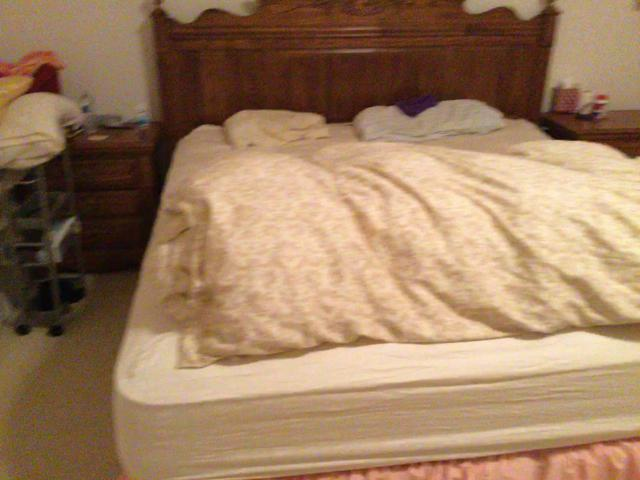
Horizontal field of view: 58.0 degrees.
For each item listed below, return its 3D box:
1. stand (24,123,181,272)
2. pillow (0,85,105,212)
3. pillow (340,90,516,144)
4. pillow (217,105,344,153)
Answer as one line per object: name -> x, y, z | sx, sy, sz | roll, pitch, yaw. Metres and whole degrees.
stand -> -1.030, -0.220, 2.840 | 0.580, 0.640, 0.320 | -4, 19, -5
pillow -> -1.130, -0.370, 2.220 | 0.400, 0.380, 0.580 | -4, 19, -5
pillow -> 0.490, -0.600, 2.780 | 0.730, 0.170, 0.450 | -4, 19, -5
pillow -> -0.190, -0.530, 2.710 | 0.540, 0.130, 0.500 | -4, 19, -5
